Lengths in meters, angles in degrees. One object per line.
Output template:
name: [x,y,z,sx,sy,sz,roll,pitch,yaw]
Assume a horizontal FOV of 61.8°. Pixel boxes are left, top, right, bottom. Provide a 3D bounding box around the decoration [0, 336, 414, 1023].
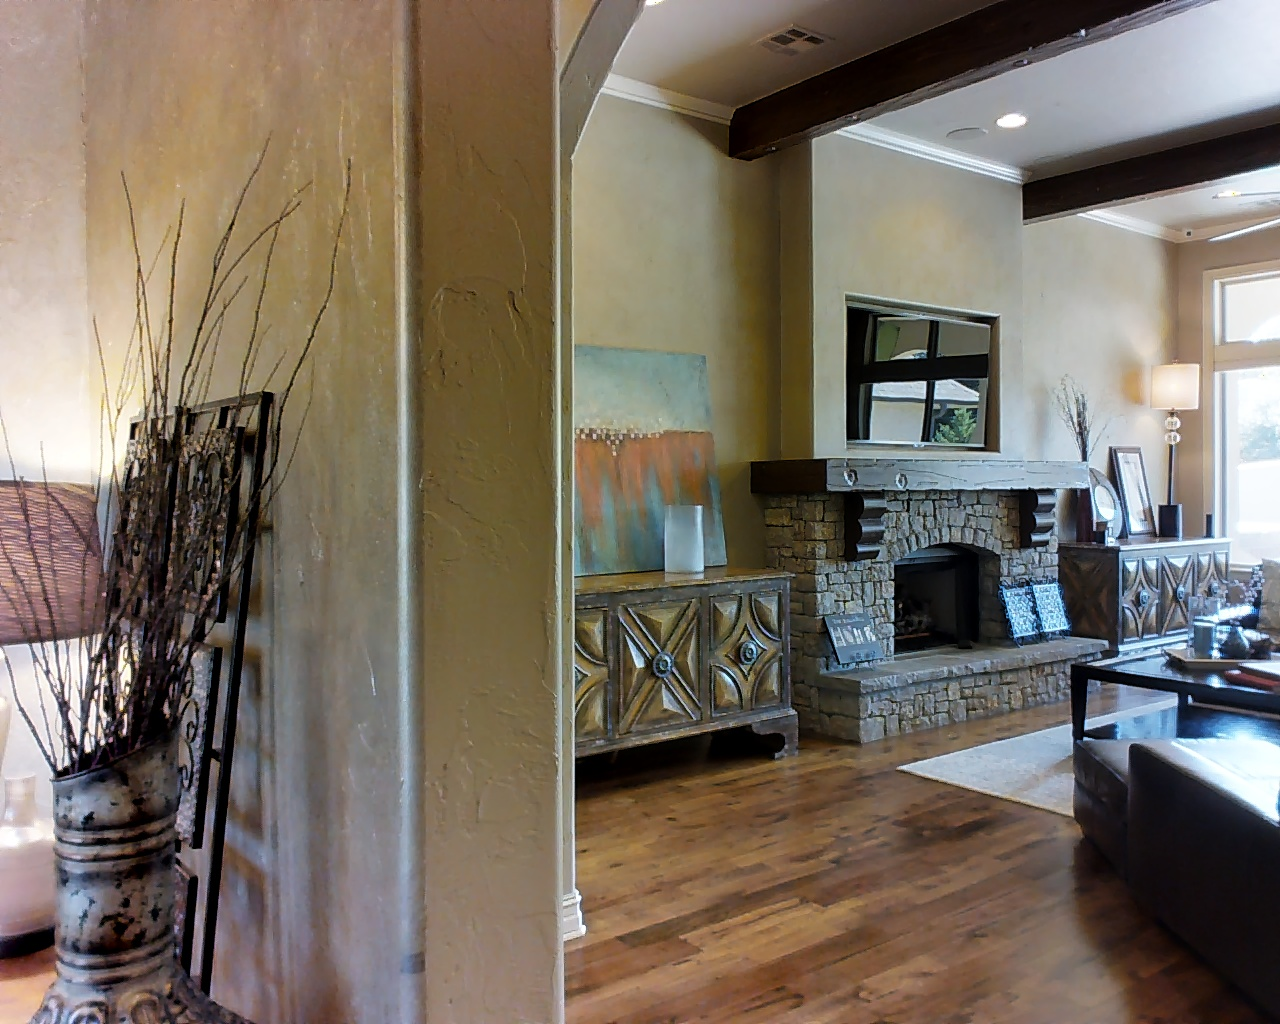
decoration: [-0.690,0.270,1.400,0.240,0.810,1.320,-1,1,-37]
